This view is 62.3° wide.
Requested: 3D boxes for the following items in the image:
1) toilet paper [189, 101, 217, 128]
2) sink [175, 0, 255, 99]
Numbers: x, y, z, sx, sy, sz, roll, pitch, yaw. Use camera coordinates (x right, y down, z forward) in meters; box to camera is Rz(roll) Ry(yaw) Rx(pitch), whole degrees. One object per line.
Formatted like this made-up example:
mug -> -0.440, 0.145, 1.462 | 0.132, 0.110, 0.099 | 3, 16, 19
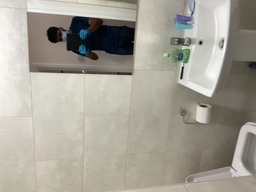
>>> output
toilet paper -> 0.530, 0.130, 1.510 | 0.100, 0.130, 0.160 | -137, 49, -69
sink -> 0.480, -0.300, 1.210 | 0.400, 0.190, 0.550 | -133, 45, -69
